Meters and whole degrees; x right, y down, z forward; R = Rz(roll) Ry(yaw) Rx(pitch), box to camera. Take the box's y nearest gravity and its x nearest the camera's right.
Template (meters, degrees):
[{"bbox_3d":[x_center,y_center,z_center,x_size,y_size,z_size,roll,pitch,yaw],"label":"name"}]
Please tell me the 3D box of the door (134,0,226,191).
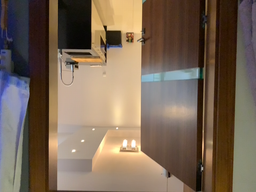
[{"bbox_3d":[0.290,-0.380,1.530,0.160,2.100,0.970,1,-177,-15],"label":"door"}]
